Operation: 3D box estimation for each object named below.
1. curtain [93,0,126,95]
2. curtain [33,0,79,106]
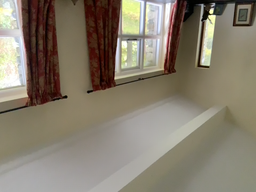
[{"bbox_3d":[-0.220,-0.680,2.550,0.160,1.280,0.380,15,-159,39],"label":"curtain"},{"bbox_3d":[-0.690,-0.570,2.090,0.140,1.280,0.390,16,-159,37],"label":"curtain"}]
